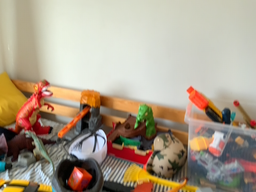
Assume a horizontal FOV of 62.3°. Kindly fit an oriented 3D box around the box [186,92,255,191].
[{"bbox_3d":[0.530,0.240,1.010,0.400,0.390,0.330,10,20,19],"label":"box"}]
